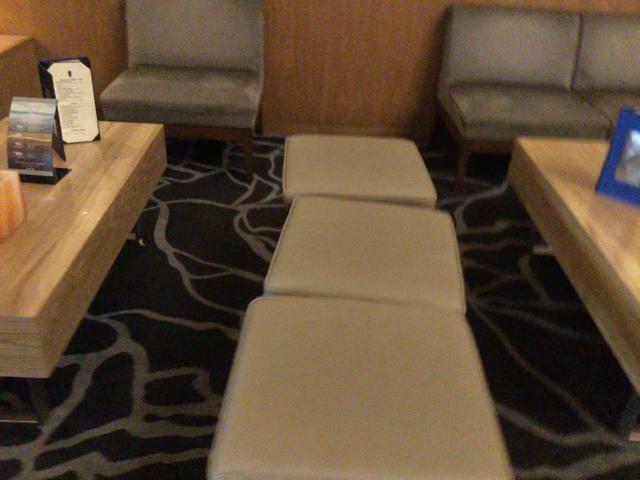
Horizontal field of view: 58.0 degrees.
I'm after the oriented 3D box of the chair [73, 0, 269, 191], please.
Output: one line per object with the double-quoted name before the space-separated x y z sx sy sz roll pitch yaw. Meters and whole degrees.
"chair" -0.650 -0.740 2.830 0.700 0.780 0.600 -2 35 1
